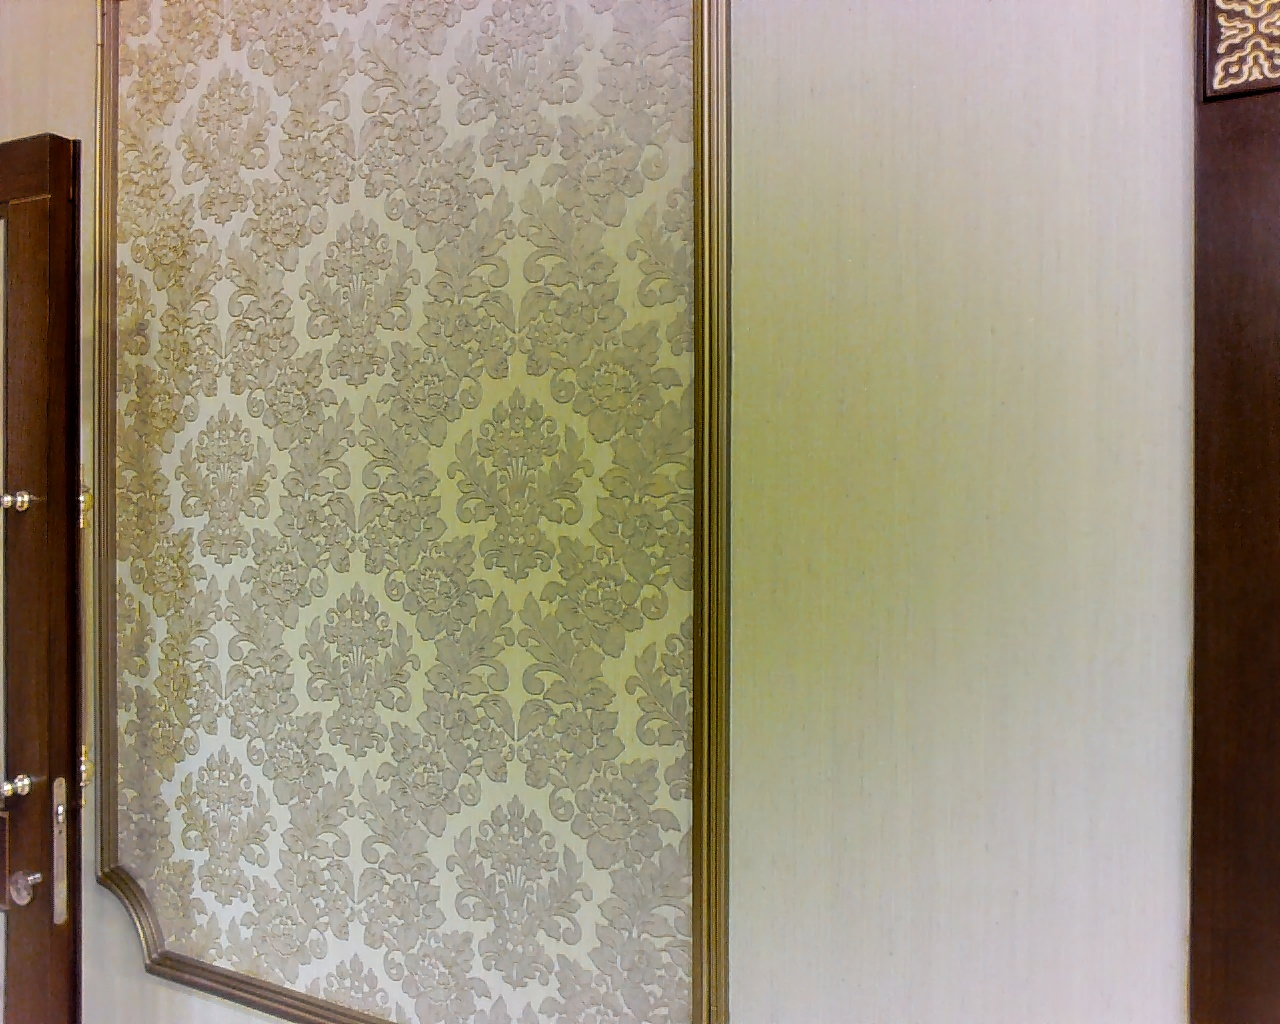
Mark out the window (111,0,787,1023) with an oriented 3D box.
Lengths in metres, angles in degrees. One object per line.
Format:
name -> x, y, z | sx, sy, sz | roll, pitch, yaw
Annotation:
window -> -0.430, -0.110, 1.840 | 1.420, 2.141, 0.060 | 1, 0, 30
